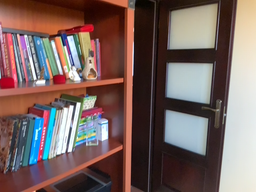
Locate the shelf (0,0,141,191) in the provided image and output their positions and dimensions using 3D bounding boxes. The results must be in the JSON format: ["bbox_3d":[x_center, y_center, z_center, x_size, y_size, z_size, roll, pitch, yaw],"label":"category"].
[{"bbox_3d":[-0.450,0.120,0.980,0.470,1.120,1.030,9,12,39],"label":"shelf"}]
